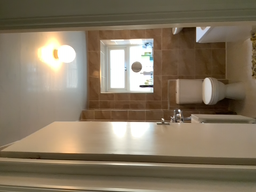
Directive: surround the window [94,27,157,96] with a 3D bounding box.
[{"bbox_3d":[-0.030,-0.560,3.710,0.420,1.040,1.100,-11,-80,-84],"label":"window"}]
